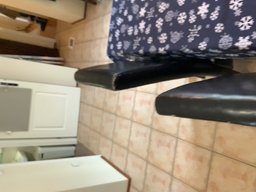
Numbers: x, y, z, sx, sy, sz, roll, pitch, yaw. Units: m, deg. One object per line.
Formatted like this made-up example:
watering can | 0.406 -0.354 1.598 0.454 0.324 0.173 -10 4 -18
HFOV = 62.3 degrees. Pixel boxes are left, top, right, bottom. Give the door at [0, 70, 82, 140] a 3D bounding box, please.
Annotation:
door | -1.690 0.130 3.040 0.170 2.030 0.950 9 93 54

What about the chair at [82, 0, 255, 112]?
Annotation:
chair | 0.380 -0.300 1.220 0.430 1.090 0.640 25 105 53
